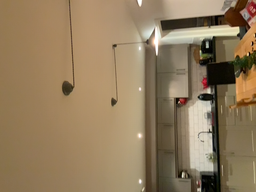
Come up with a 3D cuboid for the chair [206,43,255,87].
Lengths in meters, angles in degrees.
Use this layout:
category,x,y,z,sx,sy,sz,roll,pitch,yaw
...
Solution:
category,x,y,z,sx,sy,sz,roll,pitch,yaw
chair,1.830,-0.440,3.210,0.640,1.130,0.500,28,-118,-75
